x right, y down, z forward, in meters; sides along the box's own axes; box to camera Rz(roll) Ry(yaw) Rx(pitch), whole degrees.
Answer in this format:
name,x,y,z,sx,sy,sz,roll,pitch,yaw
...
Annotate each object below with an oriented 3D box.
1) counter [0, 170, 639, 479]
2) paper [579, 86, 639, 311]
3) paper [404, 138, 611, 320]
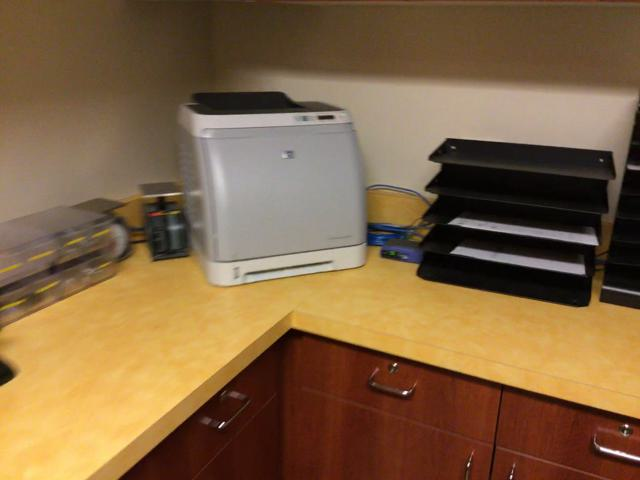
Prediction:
name,x,y,z,sx,sy,sz,roll,pitch,yaw
counter,-0.290,0.360,0.490,1.530,0.270,2.800,7,19,25
paper,0.780,-0.100,1.240,0.350,0.430,0.340,7,19,25
paper,0.460,-0.060,1.390,0.390,0.300,0.420,7,19,25
